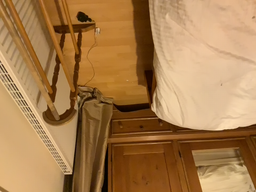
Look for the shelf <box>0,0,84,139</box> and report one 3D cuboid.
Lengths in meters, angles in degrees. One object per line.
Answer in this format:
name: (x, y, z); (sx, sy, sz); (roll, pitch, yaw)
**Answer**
shelf: (-0.360, -0.330, 0.950); (0.160, 0.770, 0.720); (-3, 141, -2)
